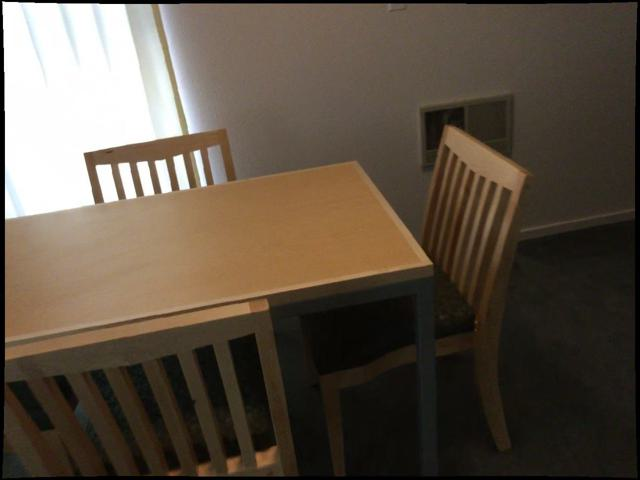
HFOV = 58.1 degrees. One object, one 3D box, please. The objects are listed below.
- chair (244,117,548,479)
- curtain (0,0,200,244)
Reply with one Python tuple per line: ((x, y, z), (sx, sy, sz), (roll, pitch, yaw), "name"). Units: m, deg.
((0.209, 0.190, 1.770), (0.658, 0.882, 0.600), (-13, 28, -8), "chair")
((-1.047, -0.511, 2.200), (0.968, 0.952, 0.250), (-10, 28, -5), "curtain")
